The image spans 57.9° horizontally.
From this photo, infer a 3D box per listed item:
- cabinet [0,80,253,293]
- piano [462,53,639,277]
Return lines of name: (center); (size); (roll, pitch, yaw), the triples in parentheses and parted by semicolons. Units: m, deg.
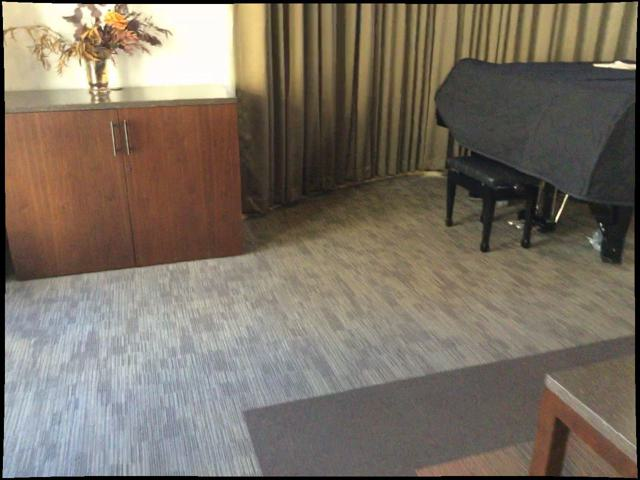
cabinet: (-1.079, -0.310, 3.080); (1.329, 0.911, 0.320); (-10, 26, -17)
piano: (1.888, -0.541, 3.260); (1.838, 0.851, 0.940); (-10, 26, -17)
